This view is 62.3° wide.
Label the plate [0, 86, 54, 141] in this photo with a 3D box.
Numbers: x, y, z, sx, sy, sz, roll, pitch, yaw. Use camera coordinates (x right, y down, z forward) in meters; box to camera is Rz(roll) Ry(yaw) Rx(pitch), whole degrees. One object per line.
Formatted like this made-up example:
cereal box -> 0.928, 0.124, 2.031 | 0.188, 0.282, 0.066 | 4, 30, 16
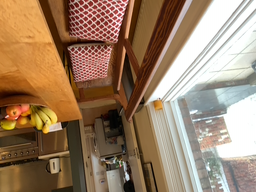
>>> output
plate -> -0.610, 0.110, 1.170 | 0.310, 0.180, 0.340 | -8, 163, -10
